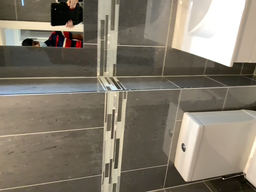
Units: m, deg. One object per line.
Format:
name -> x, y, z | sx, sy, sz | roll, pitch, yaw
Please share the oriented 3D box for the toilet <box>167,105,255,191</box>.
toilet -> 0.740, 0.370, 1.090 | 0.630, 0.810, 0.420 | -129, 40, -62
